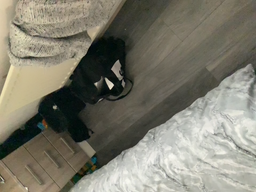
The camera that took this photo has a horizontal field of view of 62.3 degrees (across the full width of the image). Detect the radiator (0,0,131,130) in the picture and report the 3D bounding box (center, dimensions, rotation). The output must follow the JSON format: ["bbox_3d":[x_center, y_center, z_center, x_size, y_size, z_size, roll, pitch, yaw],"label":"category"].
[{"bbox_3d":[-0.290,-0.260,0.960,0.120,0.550,1.050,47,129,1],"label":"radiator"}]
